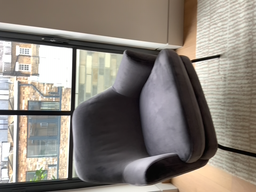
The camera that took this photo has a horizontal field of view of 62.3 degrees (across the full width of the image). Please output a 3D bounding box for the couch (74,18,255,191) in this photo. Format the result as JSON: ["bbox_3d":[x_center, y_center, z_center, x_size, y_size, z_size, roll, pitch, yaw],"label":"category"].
[{"bbox_3d":[0.130,0.140,1.240,0.730,0.800,0.700,125,143,-57],"label":"couch"}]
